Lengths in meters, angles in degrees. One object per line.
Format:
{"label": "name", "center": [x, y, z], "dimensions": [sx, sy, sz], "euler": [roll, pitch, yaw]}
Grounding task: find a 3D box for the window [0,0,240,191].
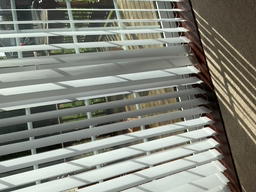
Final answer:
{"label": "window", "center": [-0.500, -0.040, 1.240], "dimensions": [0.160, 2.220, 2.340], "euler": [144, 115, -66]}
